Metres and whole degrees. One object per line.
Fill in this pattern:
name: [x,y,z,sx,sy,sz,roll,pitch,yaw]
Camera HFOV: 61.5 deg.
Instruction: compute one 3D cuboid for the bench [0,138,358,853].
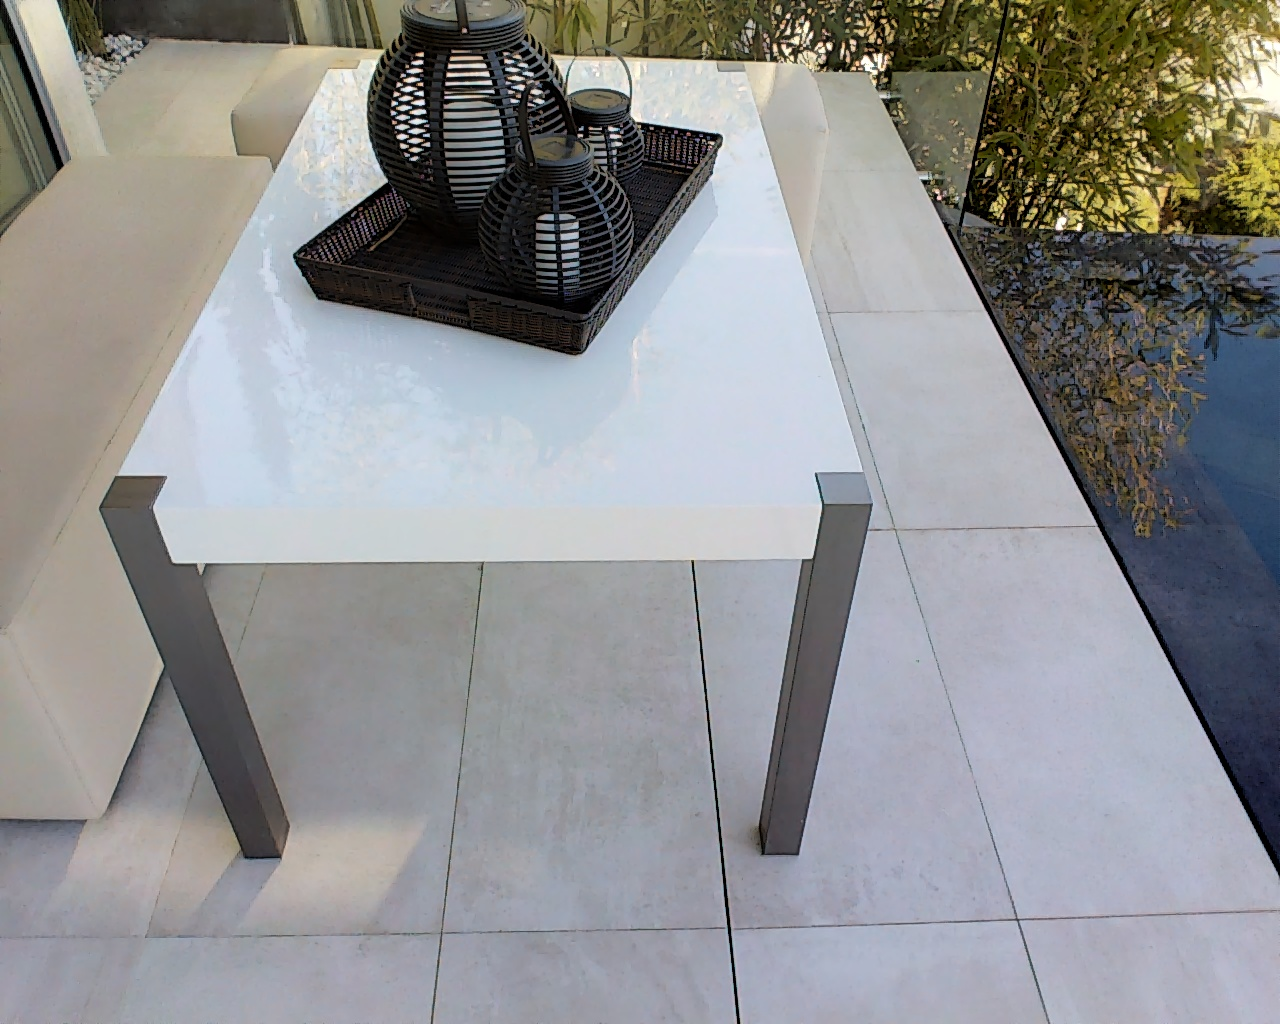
bench: [-1.080,-0.160,2.130,0.650,0.530,1.530,0,42,0]
